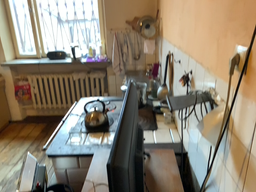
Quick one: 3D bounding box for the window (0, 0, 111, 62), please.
[{"bbox_3d":[-1.140,-1.280,3.160,1.640,1.460,0.310,-1,21,3],"label":"window"}]
